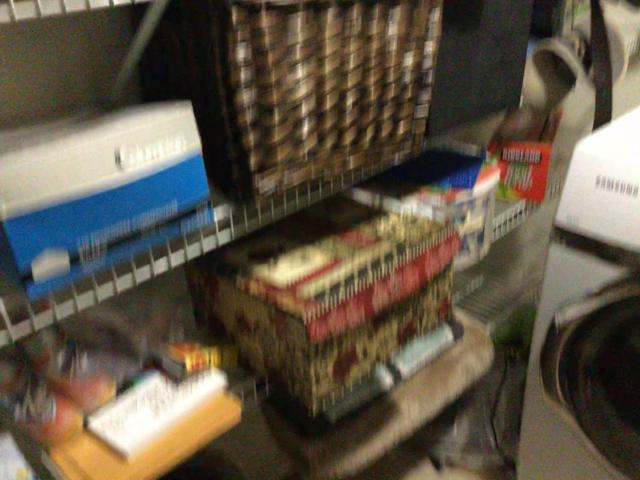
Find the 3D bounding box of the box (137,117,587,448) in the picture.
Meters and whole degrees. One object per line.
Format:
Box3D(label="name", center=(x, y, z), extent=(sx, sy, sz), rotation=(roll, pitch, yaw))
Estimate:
Box3D(label="box", center=(0.130, -0.010, 1.180), extent=(0.830, 0.230, 0.430), rotation=(-27, 35, -37))
